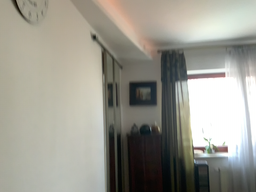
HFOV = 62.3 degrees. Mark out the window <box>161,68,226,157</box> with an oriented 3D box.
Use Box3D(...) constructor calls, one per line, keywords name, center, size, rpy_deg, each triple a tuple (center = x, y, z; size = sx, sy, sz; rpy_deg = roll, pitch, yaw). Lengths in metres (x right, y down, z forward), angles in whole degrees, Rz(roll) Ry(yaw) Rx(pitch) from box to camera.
Box3D(name="window", center=(1.070, 0.280, 3.630), size=(0.910, 1.390, 0.490), rpy_deg=(-2, -4, 4))
